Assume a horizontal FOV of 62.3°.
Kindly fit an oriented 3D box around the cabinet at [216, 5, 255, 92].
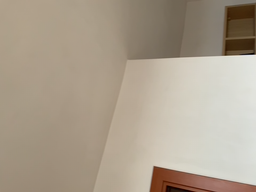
[{"bbox_3d":[1.530,-0.690,2.990,0.140,0.450,1.300,45,-128,-57],"label":"cabinet"}]
